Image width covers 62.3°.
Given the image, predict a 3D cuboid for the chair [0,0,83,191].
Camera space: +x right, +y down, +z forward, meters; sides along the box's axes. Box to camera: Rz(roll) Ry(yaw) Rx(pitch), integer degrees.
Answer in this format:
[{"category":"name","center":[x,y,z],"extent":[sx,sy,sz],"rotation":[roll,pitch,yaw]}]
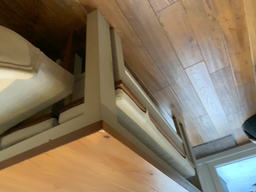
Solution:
[{"category":"chair","center":[-0.640,-0.010,0.830],"extent":[0.630,0.940,0.610],"rotation":[-25,138,21]}]
